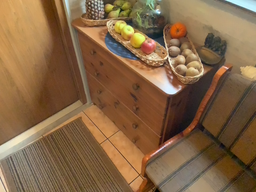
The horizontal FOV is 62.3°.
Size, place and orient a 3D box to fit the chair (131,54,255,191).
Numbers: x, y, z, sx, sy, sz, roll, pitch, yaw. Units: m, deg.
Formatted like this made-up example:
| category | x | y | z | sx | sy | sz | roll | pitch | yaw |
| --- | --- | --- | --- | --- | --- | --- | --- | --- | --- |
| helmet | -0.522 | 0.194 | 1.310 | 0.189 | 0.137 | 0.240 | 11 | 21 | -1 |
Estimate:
| category | x | y | z | sx | sy | sz | roll | pitch | yaw |
| --- | --- | --- | --- | --- | --- | --- | --- | --- | --- |
| chair | 0.400 | 0.390 | 0.940 | 0.510 | 0.810 | 0.620 | -28 | 54 | -22 |
